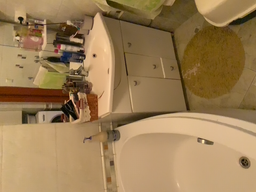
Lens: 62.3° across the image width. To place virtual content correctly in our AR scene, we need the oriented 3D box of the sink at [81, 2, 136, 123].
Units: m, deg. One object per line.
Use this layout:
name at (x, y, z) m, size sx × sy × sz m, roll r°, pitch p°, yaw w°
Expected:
sink at (-0.190, -0.230, 1.690) m, size 0.480 × 0.160 × 0.810 m, roll -27°, pitch 66°, yaw 54°

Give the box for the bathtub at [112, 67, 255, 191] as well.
bathtub at (0.580, 0.540, 1.290) m, size 1.520 × 0.620 × 1.030 m, roll -31°, pitch 63°, yaw 53°
